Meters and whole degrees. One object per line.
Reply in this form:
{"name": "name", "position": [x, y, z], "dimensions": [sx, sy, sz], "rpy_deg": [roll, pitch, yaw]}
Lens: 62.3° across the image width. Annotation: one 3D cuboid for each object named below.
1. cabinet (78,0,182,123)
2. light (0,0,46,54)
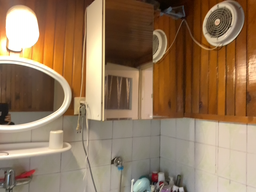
{"name": "cabinet", "position": [0.030, -0.180, 1.230], "dimensions": [0.550, 0.640, 0.230], "rpy_deg": [3, -2, -34]}
{"name": "light", "position": [-0.460, -0.300, 0.900], "dimensions": [0.160, 0.180, 0.240], "rpy_deg": [3, -2, -32]}
